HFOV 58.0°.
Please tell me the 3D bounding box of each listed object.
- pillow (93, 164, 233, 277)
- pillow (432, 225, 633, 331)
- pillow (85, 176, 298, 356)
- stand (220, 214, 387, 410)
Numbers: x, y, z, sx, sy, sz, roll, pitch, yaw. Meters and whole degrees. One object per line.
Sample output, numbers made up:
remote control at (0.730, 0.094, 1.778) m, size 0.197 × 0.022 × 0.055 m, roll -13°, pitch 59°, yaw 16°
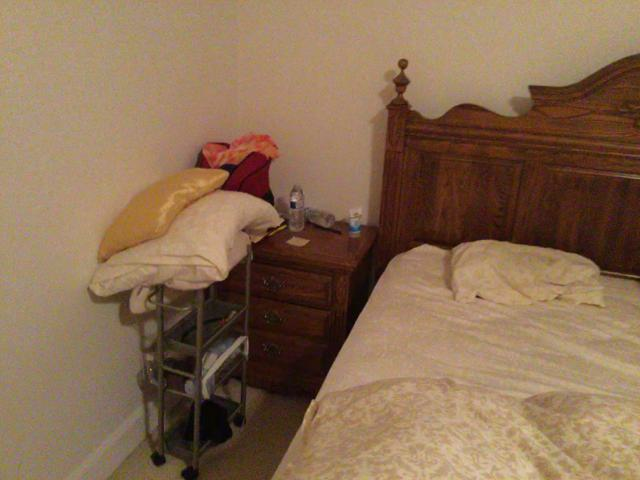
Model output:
pillow at (-0.470, -0.080, 1.810) m, size 0.220 × 0.250 × 0.410 m, roll 8°, pitch 16°, yaw 19°
pillow at (0.690, 0.100, 1.920) m, size 0.540 × 0.130 × 0.500 m, roll 8°, pitch 16°, yaw 19°
pillow at (-0.370, 0.040, 1.850) m, size 0.400 × 0.380 × 0.580 m, roll 8°, pitch 16°, yaw 19°
stand at (-0.070, 0.270, 2.370) m, size 0.580 × 0.640 × 0.320 m, roll 8°, pitch 16°, yaw 19°
